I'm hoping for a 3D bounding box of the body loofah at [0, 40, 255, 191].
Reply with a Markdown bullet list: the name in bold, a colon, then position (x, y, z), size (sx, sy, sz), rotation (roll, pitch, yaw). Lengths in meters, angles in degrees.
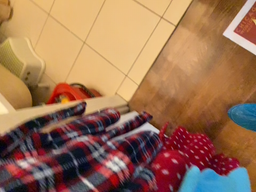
- **body loofah**: position (0.050, 0.150, 0.400), size (0.540, 1.360, 0.220), rotation (37, 109, 18)
